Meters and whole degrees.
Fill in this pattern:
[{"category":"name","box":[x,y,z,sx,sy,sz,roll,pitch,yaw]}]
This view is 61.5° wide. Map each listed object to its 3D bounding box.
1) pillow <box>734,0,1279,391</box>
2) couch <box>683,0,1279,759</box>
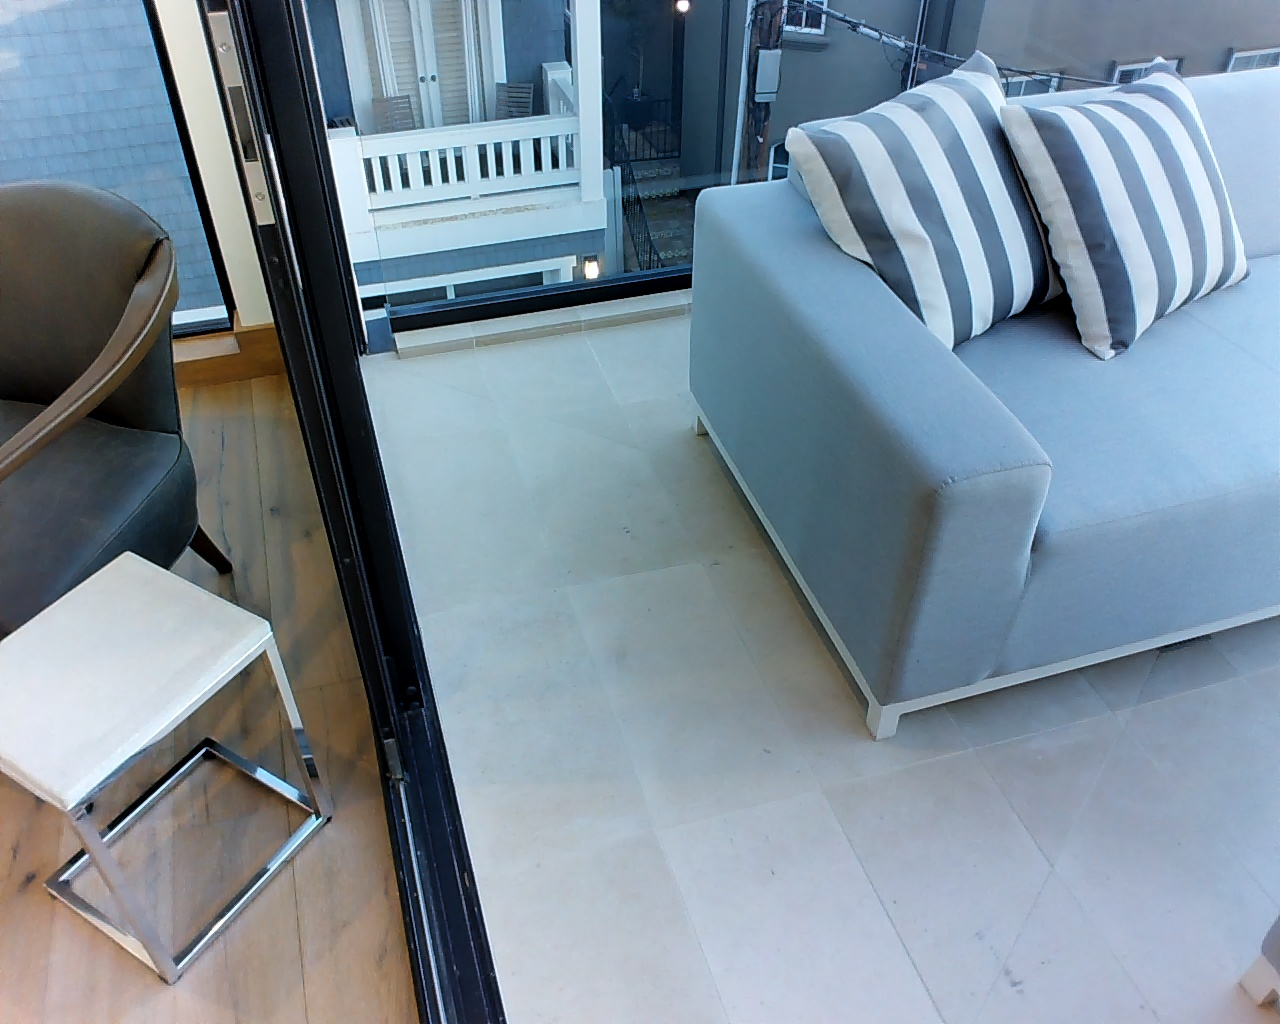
[{"category":"pillow","box":[1.020,-0.710,2.200,1.530,0.460,0.540,-11,43,-12]},{"category":"couch","box":[1.060,-0.390,2.220,1.660,0.930,1.100,-10,43,-12]}]
